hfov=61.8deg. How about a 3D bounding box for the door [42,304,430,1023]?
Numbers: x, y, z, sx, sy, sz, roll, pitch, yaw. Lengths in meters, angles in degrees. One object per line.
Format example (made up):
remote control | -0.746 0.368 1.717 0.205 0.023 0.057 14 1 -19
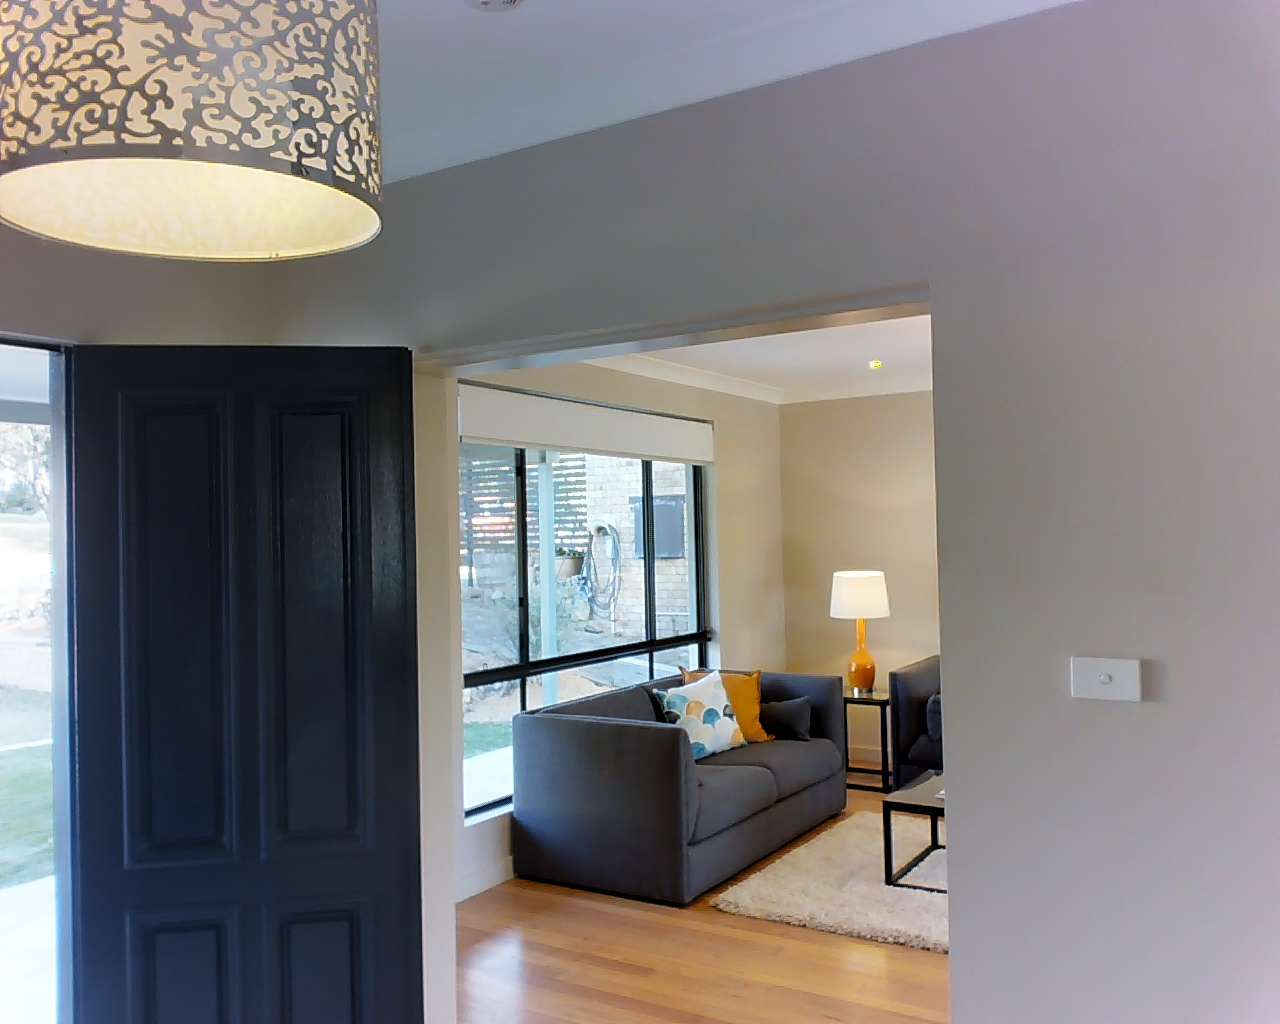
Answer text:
door | -1.010 0.550 2.750 0.870 2.131 0.240 -1 -2 -8
